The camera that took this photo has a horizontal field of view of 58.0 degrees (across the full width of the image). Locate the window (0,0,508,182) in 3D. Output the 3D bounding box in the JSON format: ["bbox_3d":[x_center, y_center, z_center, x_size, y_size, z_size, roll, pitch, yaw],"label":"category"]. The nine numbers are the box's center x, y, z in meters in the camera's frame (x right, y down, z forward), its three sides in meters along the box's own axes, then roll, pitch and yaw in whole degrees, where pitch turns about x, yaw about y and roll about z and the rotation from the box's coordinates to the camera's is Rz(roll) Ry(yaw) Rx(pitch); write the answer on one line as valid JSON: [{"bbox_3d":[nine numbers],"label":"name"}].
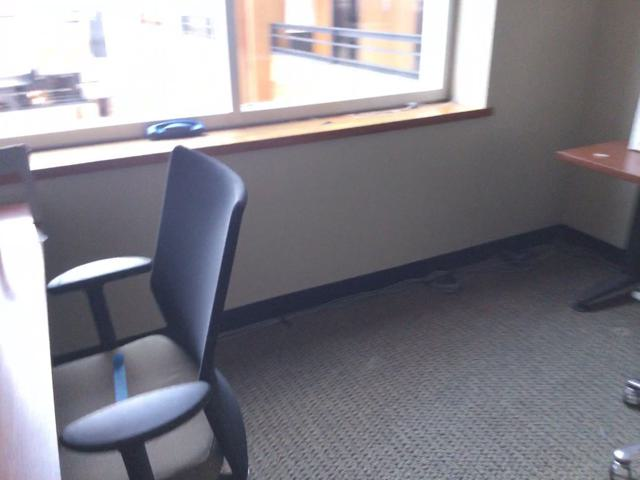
[{"bbox_3d":[-0.320,-0.910,2.130,2.150,1.100,0.500,-10,24,-23],"label":"window"}]

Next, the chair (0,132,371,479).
[{"bbox_3d":[-0.390,0.370,1.220,0.710,1.010,0.690,-9,24,-22],"label":"chair"}]
